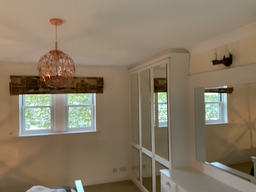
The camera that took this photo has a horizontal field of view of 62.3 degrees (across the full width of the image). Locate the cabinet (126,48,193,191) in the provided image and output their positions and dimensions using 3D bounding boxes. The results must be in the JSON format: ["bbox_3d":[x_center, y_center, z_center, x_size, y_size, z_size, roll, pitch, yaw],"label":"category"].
[{"bbox_3d":[0.430,0.540,3.690,0.310,2.350,1.760,-1,-1,-20],"label":"cabinet"}]
